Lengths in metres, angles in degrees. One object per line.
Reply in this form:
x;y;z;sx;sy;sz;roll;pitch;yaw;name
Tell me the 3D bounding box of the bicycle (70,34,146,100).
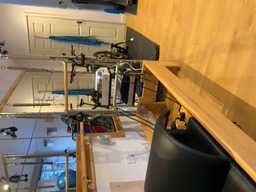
-0.470;-0.600;3.750;1.770;1.030;0.530;-115;28;-59;bicycle
